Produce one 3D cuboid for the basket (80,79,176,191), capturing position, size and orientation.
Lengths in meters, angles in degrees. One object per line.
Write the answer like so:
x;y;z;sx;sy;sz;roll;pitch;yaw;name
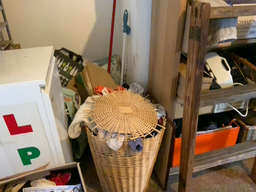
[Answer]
-0.030;0.310;1.370;0.450;0.630;0.540;-5;31;-7;basket
